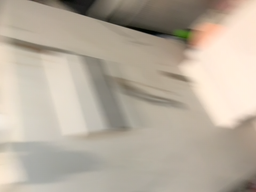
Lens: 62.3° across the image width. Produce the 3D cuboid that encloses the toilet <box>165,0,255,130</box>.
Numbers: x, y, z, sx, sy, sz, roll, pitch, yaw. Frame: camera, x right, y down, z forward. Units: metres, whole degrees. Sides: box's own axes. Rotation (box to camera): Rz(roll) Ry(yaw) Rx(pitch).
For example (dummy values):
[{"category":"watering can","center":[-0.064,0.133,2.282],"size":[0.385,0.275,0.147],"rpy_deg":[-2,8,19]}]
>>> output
[{"category":"toilet","center":[0.540,-0.150,0.960],"size":[0.460,0.430,0.390],"rpy_deg":[-45,58,37]}]
